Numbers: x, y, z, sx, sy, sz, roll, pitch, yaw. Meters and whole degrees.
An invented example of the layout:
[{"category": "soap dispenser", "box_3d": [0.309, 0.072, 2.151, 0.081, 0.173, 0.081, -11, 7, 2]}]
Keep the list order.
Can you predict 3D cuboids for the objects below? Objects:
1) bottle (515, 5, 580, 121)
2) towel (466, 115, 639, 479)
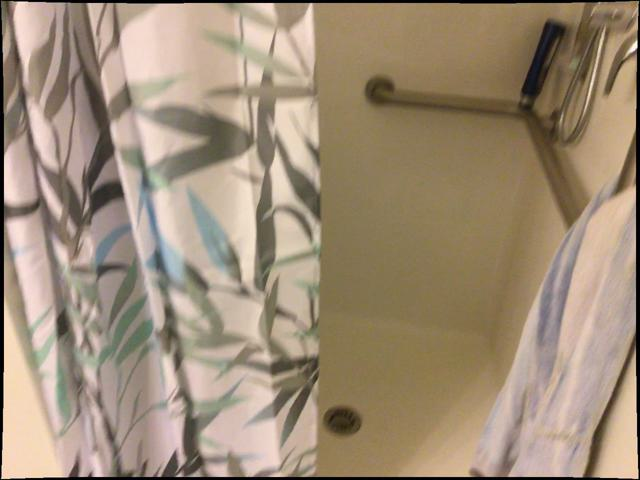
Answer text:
[{"category": "bottle", "box_3d": [0.549, -0.431, 1.410, 0.090, 0.240, 0.140, 3, 33, 8]}, {"category": "towel", "box_3d": [0.389, 0.241, 0.960, 0.190, 0.821, 0.300, 3, 33, 8]}]
